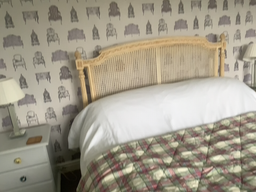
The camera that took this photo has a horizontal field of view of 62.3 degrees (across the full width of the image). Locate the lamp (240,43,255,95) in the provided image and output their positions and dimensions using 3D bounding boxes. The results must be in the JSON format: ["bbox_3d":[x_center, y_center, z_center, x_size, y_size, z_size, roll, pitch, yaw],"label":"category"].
[{"bbox_3d":[1.440,-0.310,2.400,0.180,0.540,0.210,-10,17,-14],"label":"lamp"}]

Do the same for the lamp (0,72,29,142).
[{"bbox_3d":[-0.970,0.080,1.720,0.180,0.490,0.240,-10,17,-16],"label":"lamp"}]

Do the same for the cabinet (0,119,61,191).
[{"bbox_3d":[-0.870,0.600,1.860,0.450,0.580,0.480,-10,17,-15],"label":"cabinet"}]
